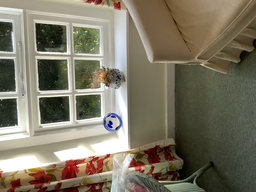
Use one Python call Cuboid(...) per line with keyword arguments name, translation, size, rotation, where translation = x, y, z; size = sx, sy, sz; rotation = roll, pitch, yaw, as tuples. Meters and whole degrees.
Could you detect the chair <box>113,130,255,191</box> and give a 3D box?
Cuboid(name="chair", translation=(0.350, 0.660, 1.200), size=(0.660, 0.660, 0.630), rotation=(28, 118, 57))
